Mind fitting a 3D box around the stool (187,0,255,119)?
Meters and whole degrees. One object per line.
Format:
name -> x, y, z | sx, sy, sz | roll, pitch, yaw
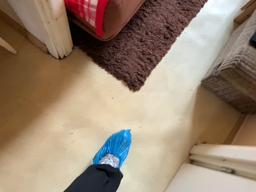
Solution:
stool -> 0.620, -0.200, 1.030 | 0.340, 0.350, 0.480 | 38, 75, -2
